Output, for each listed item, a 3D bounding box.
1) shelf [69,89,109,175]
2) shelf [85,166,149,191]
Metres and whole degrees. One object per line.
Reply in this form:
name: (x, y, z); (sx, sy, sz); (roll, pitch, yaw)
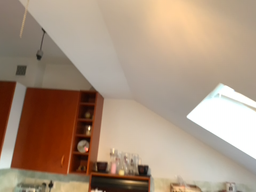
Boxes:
shelf: (-0.400, 0.380, 2.300); (0.240, 0.850, 0.340); (2, -14, 7)
shelf: (-0.110, 1.020, 2.170); (0.630, 0.510, 0.220); (2, -14, 7)
